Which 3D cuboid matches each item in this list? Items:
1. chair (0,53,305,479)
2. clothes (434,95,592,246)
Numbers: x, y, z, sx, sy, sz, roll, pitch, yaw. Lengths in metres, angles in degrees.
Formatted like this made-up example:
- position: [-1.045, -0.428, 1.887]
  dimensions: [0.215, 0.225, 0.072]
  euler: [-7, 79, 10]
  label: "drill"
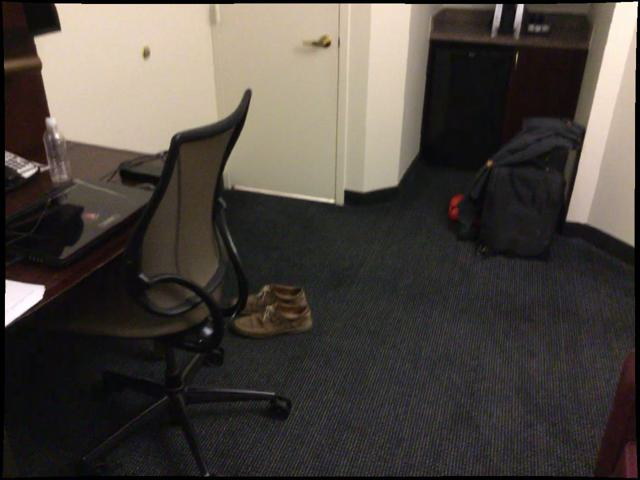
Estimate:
- position: [-0.450, 0.100, 1.650]
  dimensions: [0.669, 1.081, 0.550]
  euler: [10, 30, 15]
  label: "chair"
- position: [0.999, -0.380, 3.070]
  dimensions: [0.659, 0.620, 0.390]
  euler: [10, 30, 15]
  label: "clothes"
